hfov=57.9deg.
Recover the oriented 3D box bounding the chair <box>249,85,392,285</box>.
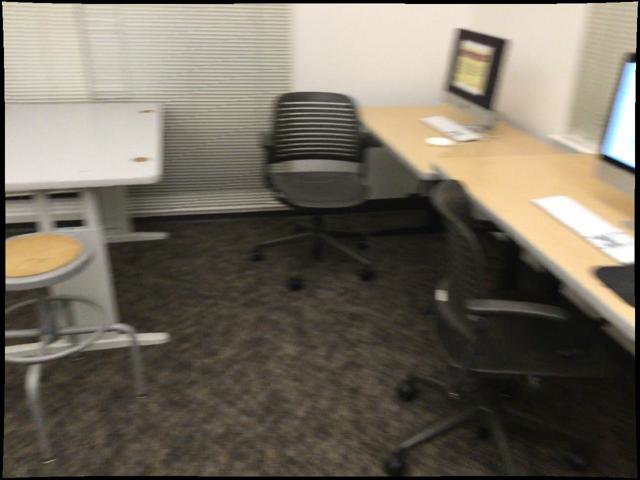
[{"bbox_3d":[0.010,-0.290,2.890,0.609,0.811,0.530,5,27,5],"label":"chair"}]

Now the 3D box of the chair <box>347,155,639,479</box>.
[{"bbox_3d":[0.569,0.280,1.790,0.749,0.871,0.710,-4,28,-13],"label":"chair"}]
